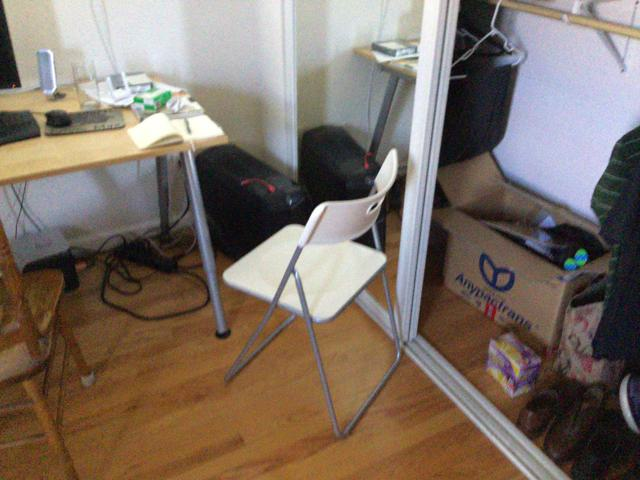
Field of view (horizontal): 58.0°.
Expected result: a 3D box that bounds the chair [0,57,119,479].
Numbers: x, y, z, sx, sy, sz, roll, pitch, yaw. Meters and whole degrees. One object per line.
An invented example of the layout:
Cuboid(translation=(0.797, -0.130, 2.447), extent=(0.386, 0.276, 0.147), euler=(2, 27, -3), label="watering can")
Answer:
Cuboid(translation=(-0.880, 0.140, 1.420), extent=(0.570, 0.990, 0.620), euler=(-7, 31, -14), label="chair")

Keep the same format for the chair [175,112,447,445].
Cuboid(translation=(-0.020, 0.080, 1.830), extent=(0.560, 0.750, 0.540), euler=(21, 36, 31), label="chair")

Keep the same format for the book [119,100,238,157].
Cuboid(translation=(-0.450, -0.360, 1.830), extent=(0.300, 0.060, 0.260), euler=(-15, 33, -25), label="book")
